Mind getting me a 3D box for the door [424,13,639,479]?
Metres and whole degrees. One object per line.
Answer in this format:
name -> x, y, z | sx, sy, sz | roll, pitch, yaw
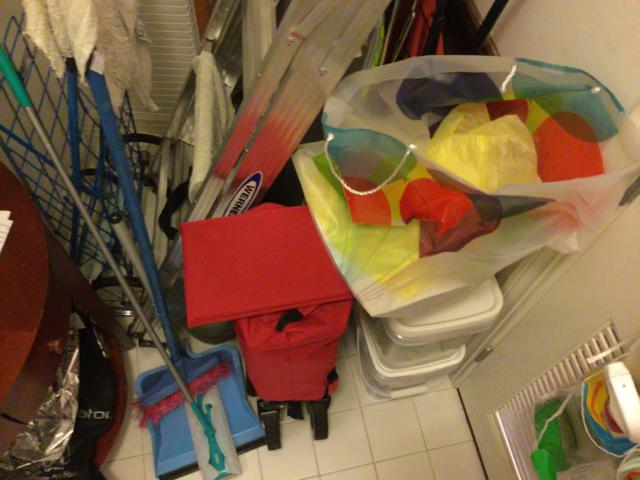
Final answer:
door -> 0.510, 0.290, 0.560 | 0.070, 2.110, 1.100 | -10, 62, -8
